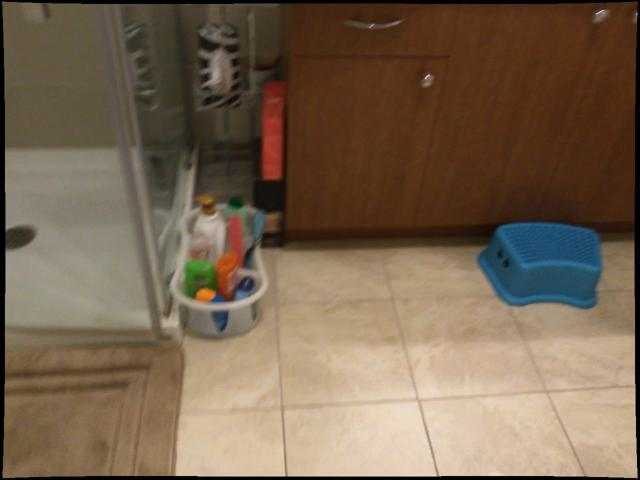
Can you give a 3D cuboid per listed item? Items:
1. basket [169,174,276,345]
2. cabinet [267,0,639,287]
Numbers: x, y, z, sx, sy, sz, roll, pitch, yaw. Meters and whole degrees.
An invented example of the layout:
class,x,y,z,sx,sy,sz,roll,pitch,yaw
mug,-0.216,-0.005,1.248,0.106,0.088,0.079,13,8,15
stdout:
class,x,y,z,sx,sy,sz,roll,pitch,yaw
basket,-0.260,0.040,1.590,0.240,0.240,0.410,-4,41,-6
cabinet,0.659,-0.400,1.730,1.578,0.810,0.540,-4,41,-6
